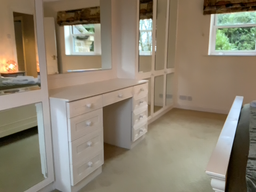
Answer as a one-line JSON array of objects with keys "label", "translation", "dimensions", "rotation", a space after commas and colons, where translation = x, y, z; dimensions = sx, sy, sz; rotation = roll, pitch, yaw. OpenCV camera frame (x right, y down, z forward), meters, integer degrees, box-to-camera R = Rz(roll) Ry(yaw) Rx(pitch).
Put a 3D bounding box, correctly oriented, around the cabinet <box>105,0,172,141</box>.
[{"label": "cabinet", "translation": [0.280, -0.770, 3.390], "dimensions": [0.310, 2.360, 1.910], "rotation": [5, 13, 25]}]
